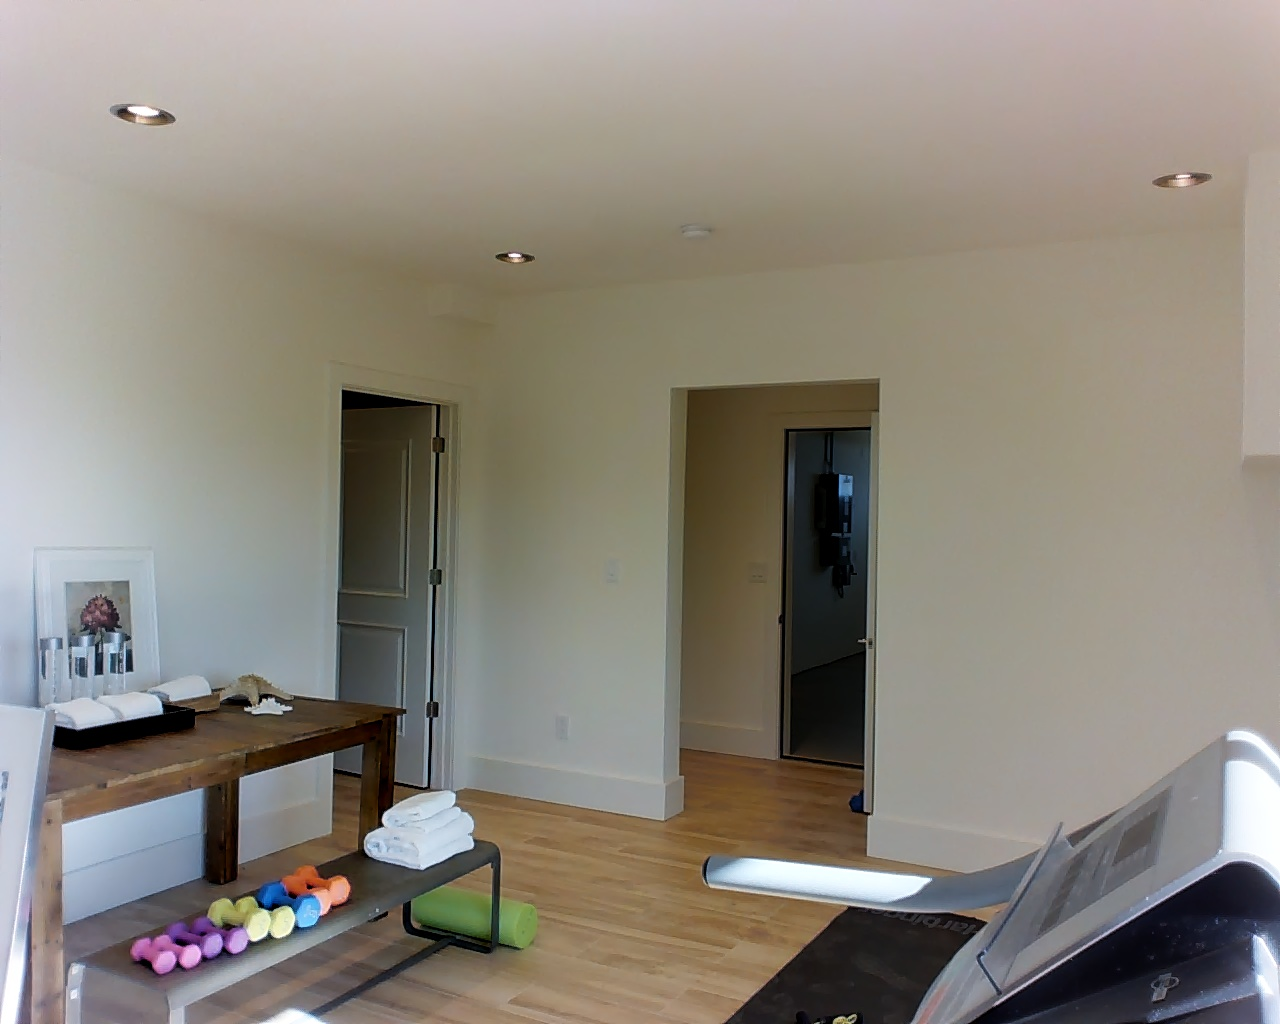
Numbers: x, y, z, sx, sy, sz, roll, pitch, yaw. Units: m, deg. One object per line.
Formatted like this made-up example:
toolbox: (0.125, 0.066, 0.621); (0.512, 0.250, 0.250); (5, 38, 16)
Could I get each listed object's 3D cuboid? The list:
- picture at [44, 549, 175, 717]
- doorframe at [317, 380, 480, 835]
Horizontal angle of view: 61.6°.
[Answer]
picture: (-1.990, 0.440, 4.050); (0.050, 0.590, 0.480); (-6, -4, 27)
doorframe: (-1.230, 0.460, 5.600); (0.180, 2.170, 0.980); (1, 0, 29)
